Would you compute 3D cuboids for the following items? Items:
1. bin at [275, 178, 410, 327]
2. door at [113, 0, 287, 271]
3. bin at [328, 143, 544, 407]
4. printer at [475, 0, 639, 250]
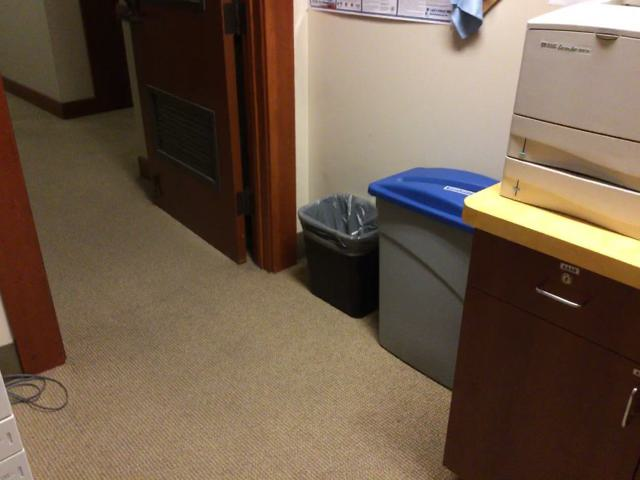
[{"bbox_3d":[0.070,0.030,2.330,0.240,0.390,0.500,-20,35,-38],"label":"bin"},{"bbox_3d":[-0.580,-0.590,2.730,0.300,1.160,0.930,-20,35,-38],"label":"door"},{"bbox_3d":[0.350,0.090,1.970,0.300,0.670,0.570,-20,35,-38],"label":"bin"},{"bbox_3d":[0.600,-0.250,1.100,0.310,0.400,0.430,-20,35,-38],"label":"printer"}]
